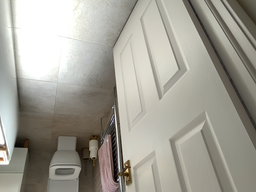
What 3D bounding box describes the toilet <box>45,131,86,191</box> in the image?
[{"bbox_3d":[-0.770,0.930,2.580,0.400,0.790,0.610,7,141,-19],"label":"toilet"}]
